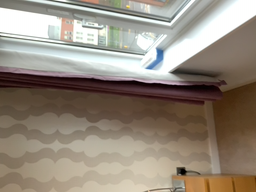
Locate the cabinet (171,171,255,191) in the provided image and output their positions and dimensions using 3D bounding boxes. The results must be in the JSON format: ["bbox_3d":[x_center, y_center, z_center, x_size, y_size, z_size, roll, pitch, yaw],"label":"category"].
[{"bbox_3d":[0.750,0.890,1.800,0.510,0.550,0.430,141,131,-67],"label":"cabinet"}]
